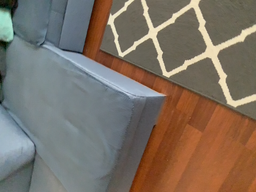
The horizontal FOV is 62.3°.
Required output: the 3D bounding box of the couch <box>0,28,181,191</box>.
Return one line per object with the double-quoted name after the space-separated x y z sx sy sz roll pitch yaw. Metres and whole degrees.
-0.450 0.320 1.290 0.850 0.830 1.150 33 112 34 "couch"
